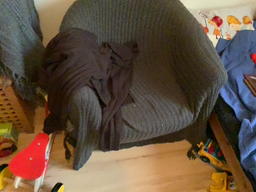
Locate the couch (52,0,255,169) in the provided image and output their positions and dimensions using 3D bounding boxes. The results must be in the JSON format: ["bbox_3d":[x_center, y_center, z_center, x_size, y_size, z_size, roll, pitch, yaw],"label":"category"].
[{"bbox_3d":[0.040,-0.140,1.270,0.810,0.670,0.760,-9,55,-15],"label":"couch"}]
